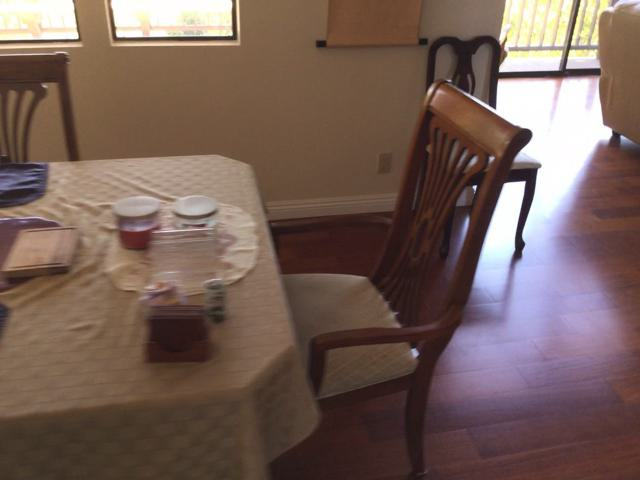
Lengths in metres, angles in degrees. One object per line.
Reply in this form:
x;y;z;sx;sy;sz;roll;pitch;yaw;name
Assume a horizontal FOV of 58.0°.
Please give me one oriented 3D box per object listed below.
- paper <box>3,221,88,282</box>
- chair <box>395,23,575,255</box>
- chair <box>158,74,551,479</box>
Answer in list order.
-0.600;0.020;1.280;0.140;0.030;0.190;-6;31;-12;paper
0.720;-0.490;2.740;0.480;0.930;0.550;-5;31;-12;chair
0.010;0.160;1.560;0.750;1.040;0.580;-6;31;-12;chair
